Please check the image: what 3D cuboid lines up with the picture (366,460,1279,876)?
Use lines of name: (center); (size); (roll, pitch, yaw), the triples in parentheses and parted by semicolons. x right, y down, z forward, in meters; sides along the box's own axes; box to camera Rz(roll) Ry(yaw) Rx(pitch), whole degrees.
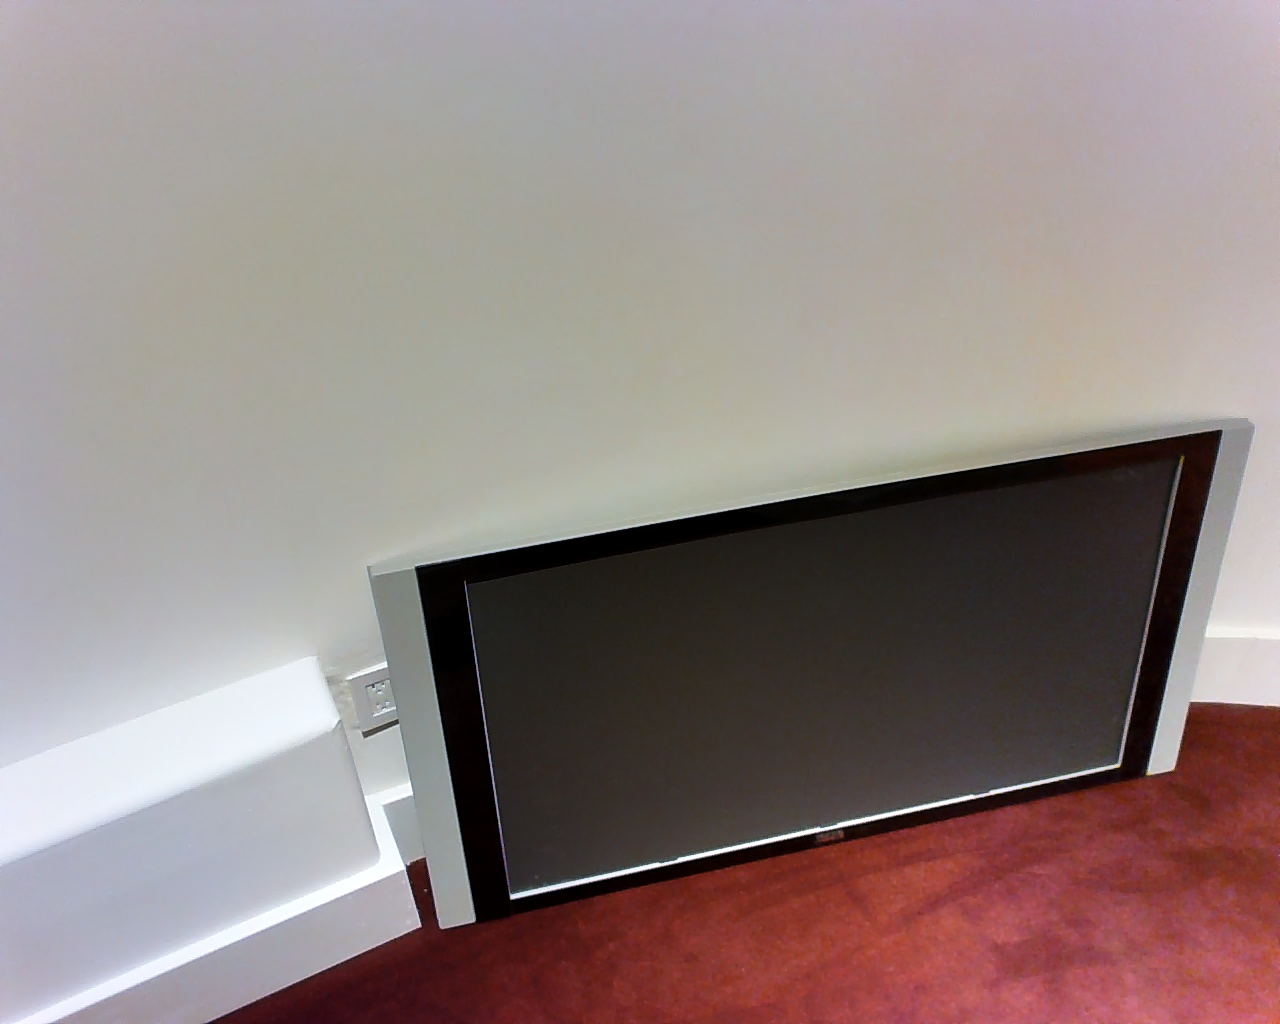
picture: (0.290, 0.250, 1.620); (1.300, 0.660, 0.140); (-6, 54, -12)
